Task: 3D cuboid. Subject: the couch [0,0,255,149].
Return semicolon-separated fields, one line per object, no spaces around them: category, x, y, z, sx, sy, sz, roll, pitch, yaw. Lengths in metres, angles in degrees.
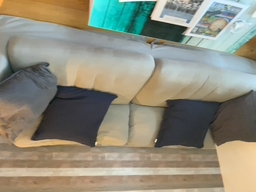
couch;0.060;0.010;2.080;2.490;0.810;1.050;5;155;-18
